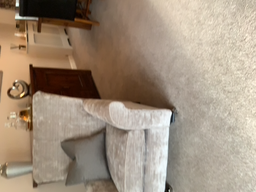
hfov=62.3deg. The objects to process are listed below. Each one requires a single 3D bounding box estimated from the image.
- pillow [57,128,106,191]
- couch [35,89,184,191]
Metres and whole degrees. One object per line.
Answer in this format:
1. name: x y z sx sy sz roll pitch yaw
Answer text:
1. pillow: -0.340 0.550 1.690 0.360 0.200 0.470 -81 -13 -55
2. couch: -0.220 0.410 1.680 0.860 0.880 0.850 16 105 61
